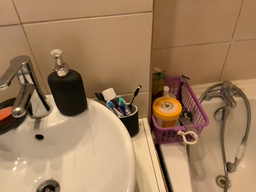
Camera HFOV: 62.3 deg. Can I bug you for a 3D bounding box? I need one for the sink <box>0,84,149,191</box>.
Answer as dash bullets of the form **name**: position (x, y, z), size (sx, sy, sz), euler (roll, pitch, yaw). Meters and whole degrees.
- **sink**: position (-0.200, 0.200, 0.510), size (0.460, 0.160, 0.450), euler (-7, 43, -5)
